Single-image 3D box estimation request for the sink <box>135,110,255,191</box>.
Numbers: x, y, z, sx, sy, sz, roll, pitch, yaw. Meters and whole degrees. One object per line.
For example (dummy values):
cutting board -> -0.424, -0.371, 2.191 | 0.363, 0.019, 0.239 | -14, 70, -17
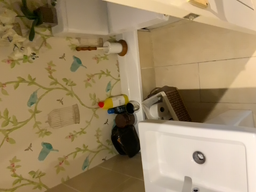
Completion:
sink -> 0.310, 0.310, 0.970 | 0.510, 0.180, 0.450 | -1, 99, 42
